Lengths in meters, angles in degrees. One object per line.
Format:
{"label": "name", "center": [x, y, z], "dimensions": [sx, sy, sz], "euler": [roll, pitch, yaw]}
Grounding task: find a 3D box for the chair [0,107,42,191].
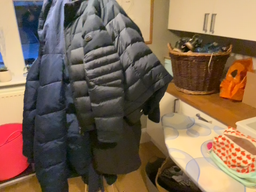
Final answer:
{"label": "chair", "center": [-1.050, 0.570, 1.740], "dimensions": [0.520, 0.780, 0.460], "euler": [-8, 24, -18]}
